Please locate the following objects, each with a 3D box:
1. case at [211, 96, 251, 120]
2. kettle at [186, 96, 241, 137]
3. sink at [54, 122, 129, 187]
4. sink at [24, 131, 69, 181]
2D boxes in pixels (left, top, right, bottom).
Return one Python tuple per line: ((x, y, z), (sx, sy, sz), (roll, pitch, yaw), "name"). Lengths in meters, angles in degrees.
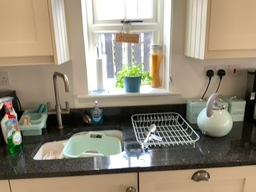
((0.730, 0.080, 1.520), (0.190, 0.120, 0.170), (-2, 15, -1), "case")
((0.510, 0.120, 1.300), (0.240, 0.180, 0.190), (-3, 15, -4), "kettle")
((-0.190, 0.320, 1.260), (0.360, 0.170, 0.410), (-2, 15, -3), "sink")
((-0.450, 0.330, 1.210), (0.150, 0.140, 0.280), (-2, 15, -3), "sink")
